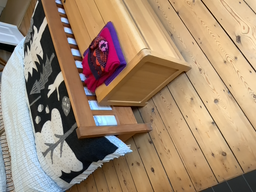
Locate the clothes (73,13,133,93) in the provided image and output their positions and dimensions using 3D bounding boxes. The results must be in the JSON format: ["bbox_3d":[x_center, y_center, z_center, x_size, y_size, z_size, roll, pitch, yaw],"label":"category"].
[{"bbox_3d":[-0.170,-0.250,1.290,0.350,0.090,0.310,-43,59,34],"label":"clothes"}]

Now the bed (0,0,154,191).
[{"bbox_3d":[-0.950,0.090,2.360,2.130,0.530,1.660,-41,60,35],"label":"bed"}]
